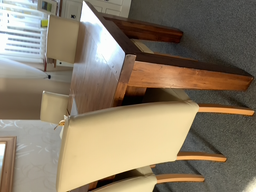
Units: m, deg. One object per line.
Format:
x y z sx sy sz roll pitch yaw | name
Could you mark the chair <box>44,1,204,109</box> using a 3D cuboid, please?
-0.080 -0.290 1.630 0.640 0.990 0.450 61 140 47 | chair
